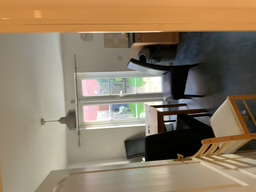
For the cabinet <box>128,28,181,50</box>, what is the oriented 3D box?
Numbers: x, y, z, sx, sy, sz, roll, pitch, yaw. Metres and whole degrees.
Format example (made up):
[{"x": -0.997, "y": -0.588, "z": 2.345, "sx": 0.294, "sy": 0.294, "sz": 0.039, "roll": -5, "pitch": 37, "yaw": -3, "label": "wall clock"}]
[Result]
[{"x": 0.490, "y": -1.120, "z": 4.200, "sx": 0.600, "sy": 0.910, "sz": 0.300, "roll": -157, "pitch": 64, "yaw": -81, "label": "cabinet"}]
